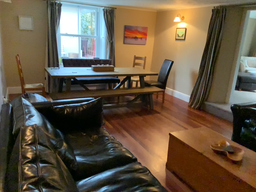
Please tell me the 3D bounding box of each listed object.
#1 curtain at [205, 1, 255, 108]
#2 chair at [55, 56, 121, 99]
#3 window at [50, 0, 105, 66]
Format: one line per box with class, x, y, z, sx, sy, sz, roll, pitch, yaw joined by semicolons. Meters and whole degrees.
curtain;2.220;-0.860;4.660;0.630;2.180;0.350;6;16;7
chair;-1.020;-0.500;5.410;1.490;0.920;0.650;-4;17;-26
window;-1.370;-1.720;5.880;1.380;1.720;0.380;-4;17;-25
